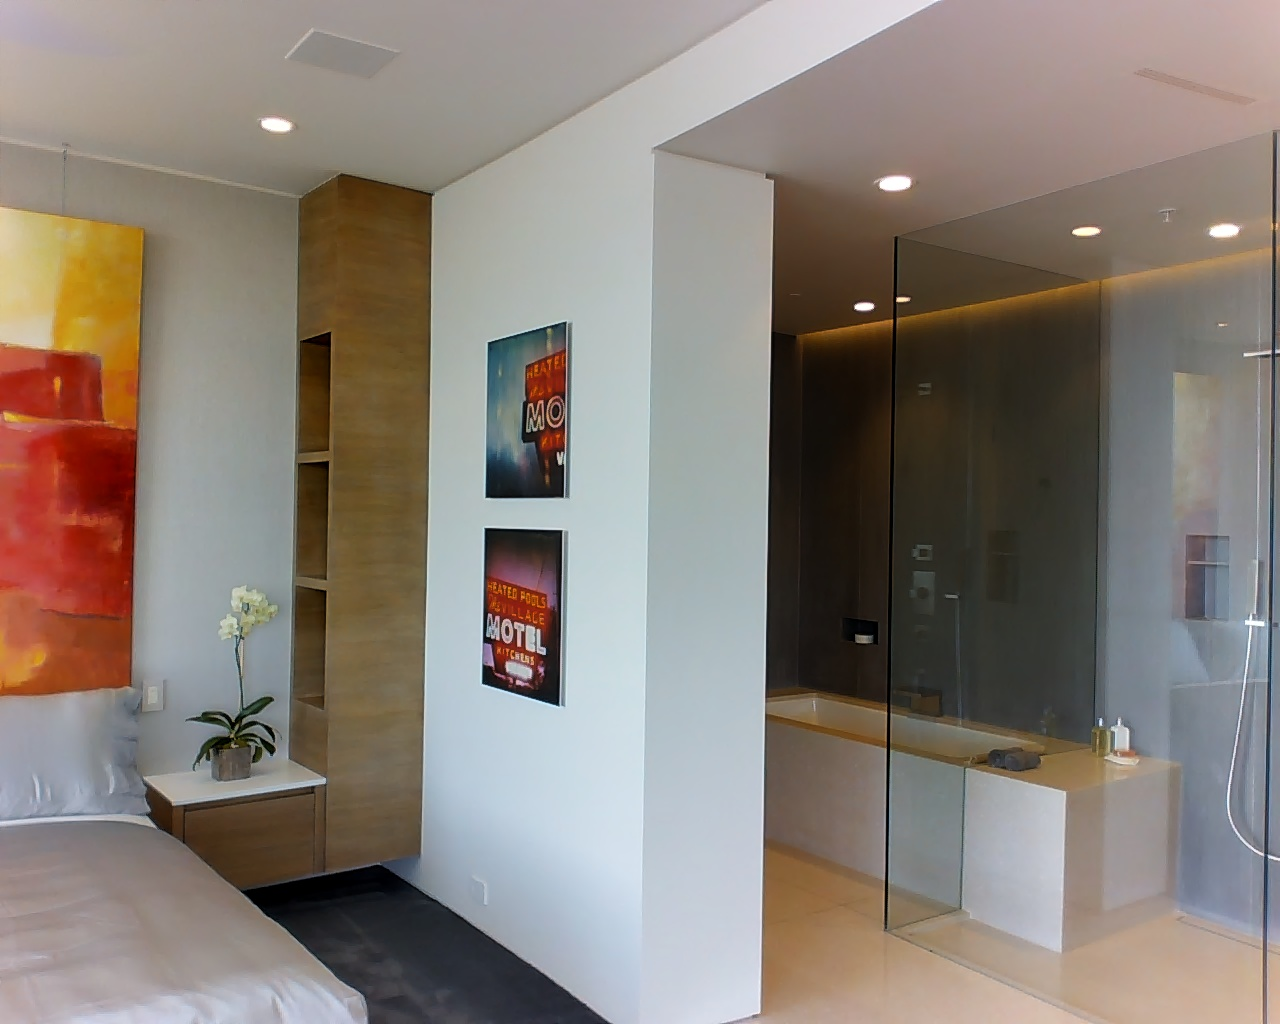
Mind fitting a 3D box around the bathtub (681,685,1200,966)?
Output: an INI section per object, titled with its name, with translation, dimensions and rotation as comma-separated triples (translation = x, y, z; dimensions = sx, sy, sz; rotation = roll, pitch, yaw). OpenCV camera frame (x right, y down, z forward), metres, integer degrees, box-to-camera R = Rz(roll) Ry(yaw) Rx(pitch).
[bathtub]
translation = 1.250, 1.310, 5.030
dimensions = 0.920, 0.630, 2.250
rotation = 1, -1, -36
